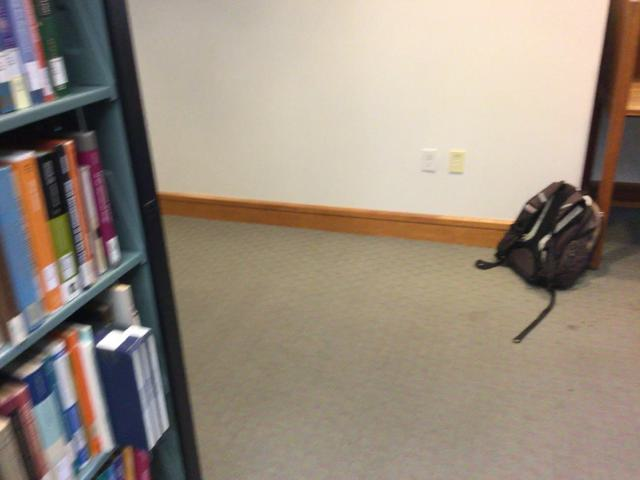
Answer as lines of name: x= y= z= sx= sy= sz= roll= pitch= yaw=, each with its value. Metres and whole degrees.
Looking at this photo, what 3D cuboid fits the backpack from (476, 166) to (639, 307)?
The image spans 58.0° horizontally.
backpack: x=1.050 y=-0.040 z=2.590 sx=0.360 sy=0.450 sz=0.470 roll=-28 pitch=15 yaw=-9
